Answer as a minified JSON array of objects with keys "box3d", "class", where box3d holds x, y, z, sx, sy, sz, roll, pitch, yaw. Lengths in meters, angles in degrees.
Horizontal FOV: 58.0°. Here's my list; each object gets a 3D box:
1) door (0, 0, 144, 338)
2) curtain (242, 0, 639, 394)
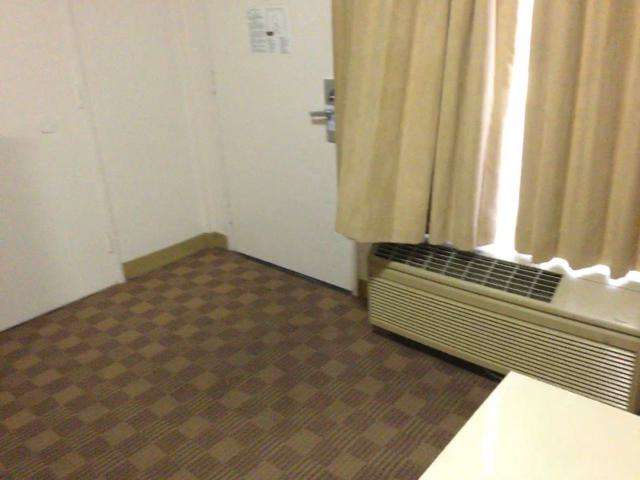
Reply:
[{"box3d":[-1.350,-0.480,2.550,0.940,1.790,0.180,-18,26,-41],"class":"door"},{"box3d":[0.610,-0.350,1.890,1.890,1.250,0.530,15,24,38],"class":"curtain"}]
